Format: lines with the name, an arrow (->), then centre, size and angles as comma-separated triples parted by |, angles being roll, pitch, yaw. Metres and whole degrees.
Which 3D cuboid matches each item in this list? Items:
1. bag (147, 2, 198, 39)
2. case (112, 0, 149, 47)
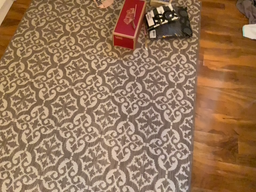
bag -> 0.280, -0.490, 1.380 | 0.300, 0.070, 0.240 | 1, 65, -2
case -> 0.020, -0.490, 1.330 | 0.170, 0.100, 0.350 | 10, 65, 3
